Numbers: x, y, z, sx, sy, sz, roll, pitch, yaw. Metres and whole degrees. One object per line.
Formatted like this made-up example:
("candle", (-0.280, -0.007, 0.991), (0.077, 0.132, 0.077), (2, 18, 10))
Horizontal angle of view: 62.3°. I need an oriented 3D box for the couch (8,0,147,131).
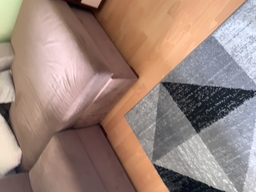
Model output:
("couch", (-0.420, -0.320, 1.570), (0.570, 0.470, 0.910), (-47, 65, 32))
